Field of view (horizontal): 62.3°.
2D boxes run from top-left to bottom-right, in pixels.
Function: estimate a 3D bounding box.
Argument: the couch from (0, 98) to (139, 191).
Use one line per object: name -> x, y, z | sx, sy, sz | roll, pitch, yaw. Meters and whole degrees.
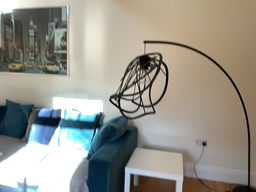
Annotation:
couch -> -1.770, 0.570, 2.780 | 3.590, 0.850, 1.360 | 4, 8, 13
